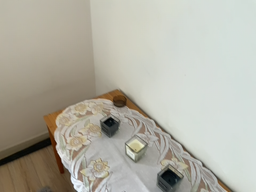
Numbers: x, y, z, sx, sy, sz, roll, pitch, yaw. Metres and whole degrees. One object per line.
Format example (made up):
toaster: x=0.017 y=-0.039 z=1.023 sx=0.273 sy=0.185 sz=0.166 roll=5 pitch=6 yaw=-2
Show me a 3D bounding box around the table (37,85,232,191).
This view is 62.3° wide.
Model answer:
table: x=0.010 y=0.520 z=1.140 sx=0.520 sy=0.550 sz=1.140 roll=-21 pitch=44 yaw=-29
